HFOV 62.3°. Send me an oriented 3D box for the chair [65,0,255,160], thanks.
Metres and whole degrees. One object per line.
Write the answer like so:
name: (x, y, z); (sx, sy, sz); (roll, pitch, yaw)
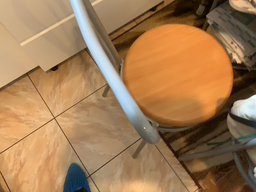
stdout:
chair: (0.130, -0.060, 0.760); (0.440, 0.810, 0.390); (-25, 75, -9)
